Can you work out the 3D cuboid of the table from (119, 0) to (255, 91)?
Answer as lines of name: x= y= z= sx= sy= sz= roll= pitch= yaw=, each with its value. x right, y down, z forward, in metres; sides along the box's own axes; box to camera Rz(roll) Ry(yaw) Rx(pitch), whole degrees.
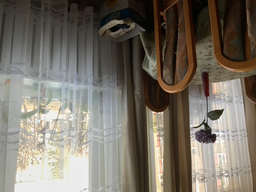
table: x=0.850 y=-0.640 z=1.540 sx=1.040 sy=0.750 sz=1.850 roll=6 pitch=166 yaw=-32

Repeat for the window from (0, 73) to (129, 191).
window: x=-0.700 y=0.630 z=1.570 sx=1.550 sy=1.530 sz=0.180 roll=6 pitch=167 yaw=-32
